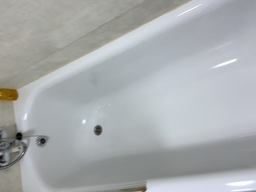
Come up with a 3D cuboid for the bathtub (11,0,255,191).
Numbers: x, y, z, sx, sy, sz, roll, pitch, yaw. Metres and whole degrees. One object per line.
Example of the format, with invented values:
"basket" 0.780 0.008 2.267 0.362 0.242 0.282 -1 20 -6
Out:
"bathtub" 0.180 0.090 1.110 1.650 0.560 0.680 -19 77 27
